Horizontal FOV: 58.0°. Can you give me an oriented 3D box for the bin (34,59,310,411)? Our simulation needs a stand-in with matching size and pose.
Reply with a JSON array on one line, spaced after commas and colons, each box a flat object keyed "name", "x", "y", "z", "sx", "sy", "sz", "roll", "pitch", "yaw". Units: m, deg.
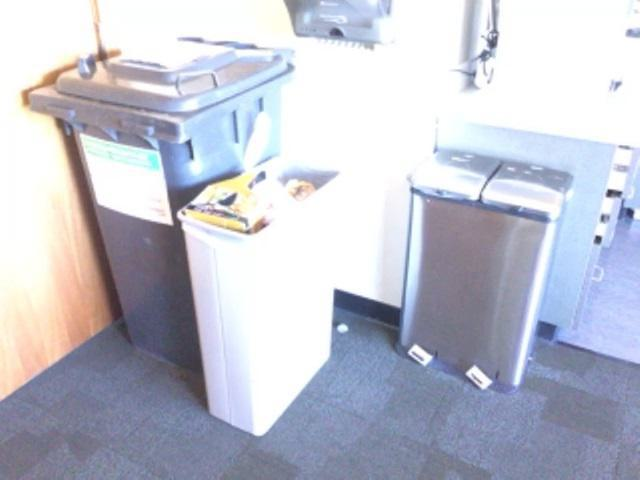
[{"name": "bin", "x": -0.450, "y": -0.050, "z": 2.010, "sx": 0.510, "sy": 1.010, "sz": 0.550, "roll": 14, "pitch": 33, "yaw": 34}]

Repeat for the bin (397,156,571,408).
[{"name": "bin", "x": 0.530, "y": 0.130, "z": 1.940, "sx": 0.460, "sy": 0.730, "sz": 0.240, "roll": 14, "pitch": 33, "yaw": 34}]
